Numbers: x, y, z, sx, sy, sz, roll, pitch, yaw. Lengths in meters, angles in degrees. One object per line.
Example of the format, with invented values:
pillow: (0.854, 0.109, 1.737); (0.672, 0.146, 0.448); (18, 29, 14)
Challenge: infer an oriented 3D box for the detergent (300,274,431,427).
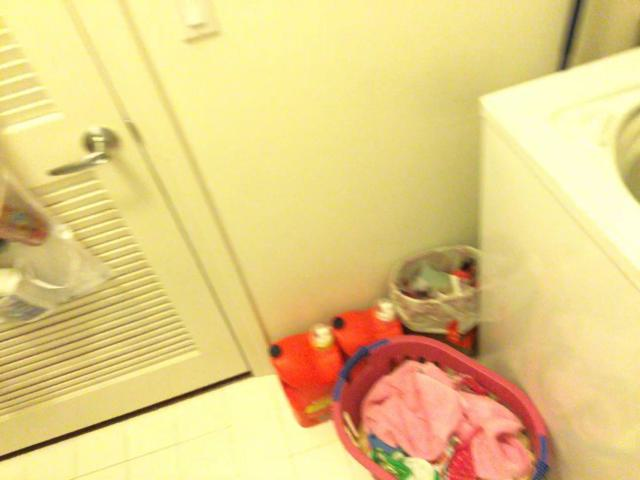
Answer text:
detergent: (0.130, 0.310, 1.610); (0.280, 0.290, 0.220); (-17, 44, -5)

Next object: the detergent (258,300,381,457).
detergent: (0.000, 0.380, 1.590); (0.240, 0.280, 0.250); (-17, 44, -5)
